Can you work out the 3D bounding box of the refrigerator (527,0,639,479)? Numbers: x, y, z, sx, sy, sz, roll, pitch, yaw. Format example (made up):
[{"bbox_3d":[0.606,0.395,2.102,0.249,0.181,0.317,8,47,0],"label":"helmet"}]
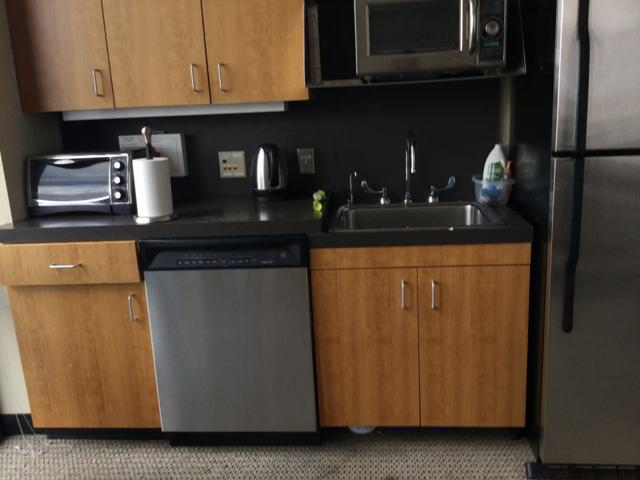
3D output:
[{"bbox_3d":[1.060,-0.020,1.740,0.790,1.640,0.240,-2,12,11],"label":"refrigerator"}]

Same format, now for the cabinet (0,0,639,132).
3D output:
[{"bbox_3d":[0.130,-1.080,2.080,2.640,1.150,0.520,-2,12,11],"label":"cabinet"}]

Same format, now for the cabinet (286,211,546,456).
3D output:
[{"bbox_3d":[0.390,0.340,2.330,0.880,0.790,0.570,-2,12,11],"label":"cabinet"}]

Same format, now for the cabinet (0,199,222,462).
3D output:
[{"bbox_3d":[-0.860,0.330,2.400,0.620,0.880,0.640,-2,12,11],"label":"cabinet"}]
